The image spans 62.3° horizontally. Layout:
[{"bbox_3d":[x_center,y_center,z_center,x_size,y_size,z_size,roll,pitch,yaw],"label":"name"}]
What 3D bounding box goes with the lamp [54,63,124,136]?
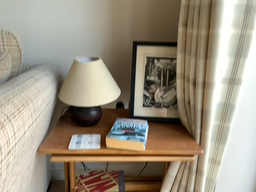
[{"bbox_3d":[-0.150,0.000,0.890,0.240,0.240,0.260,1,15,-5],"label":"lamp"}]
